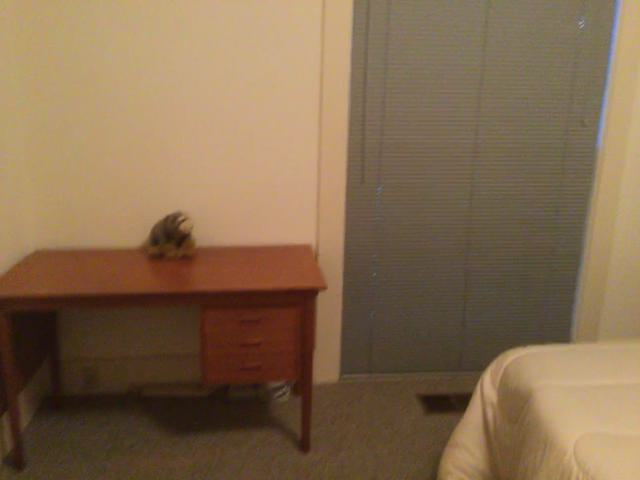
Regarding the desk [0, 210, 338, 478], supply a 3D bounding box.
[{"bbox_3d":[-0.550,0.350,2.270,1.170,0.810,0.590,-2,13,-6],"label":"desk"}]
